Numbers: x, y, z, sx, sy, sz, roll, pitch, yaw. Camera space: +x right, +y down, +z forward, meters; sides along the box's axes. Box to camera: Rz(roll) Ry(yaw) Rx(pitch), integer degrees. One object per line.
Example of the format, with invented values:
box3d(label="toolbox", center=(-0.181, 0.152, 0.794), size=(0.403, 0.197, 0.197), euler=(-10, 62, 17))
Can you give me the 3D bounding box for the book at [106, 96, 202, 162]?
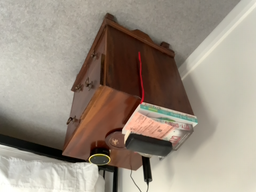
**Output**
box3d(label="book", center=(0.080, 0.130, 0.740), size=(0.240, 0.060, 0.230), euler=(19, 131, -22))
